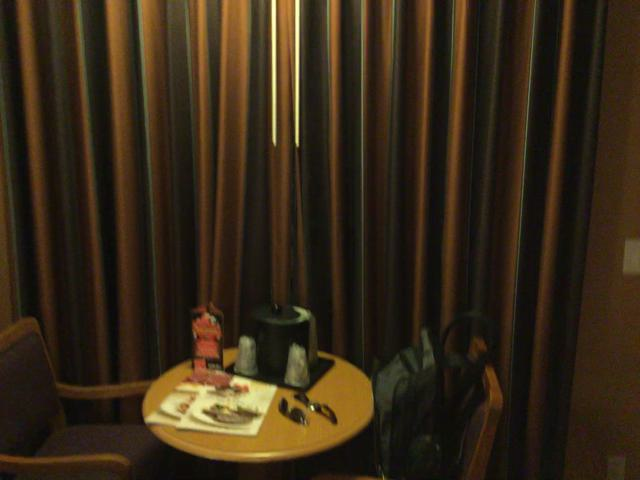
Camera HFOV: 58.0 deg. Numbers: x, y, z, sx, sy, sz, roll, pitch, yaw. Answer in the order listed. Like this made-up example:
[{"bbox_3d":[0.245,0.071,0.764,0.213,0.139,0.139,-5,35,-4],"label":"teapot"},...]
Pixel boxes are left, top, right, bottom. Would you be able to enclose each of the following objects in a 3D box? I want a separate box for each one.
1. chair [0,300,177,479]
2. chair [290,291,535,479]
[{"bbox_3d":[-0.830,0.740,1.950,0.570,0.920,0.590,-3,8,-7],"label":"chair"},{"bbox_3d":[0.270,0.720,1.890,0.650,0.980,0.560,-2,8,2],"label":"chair"}]
